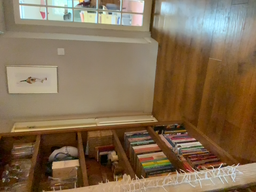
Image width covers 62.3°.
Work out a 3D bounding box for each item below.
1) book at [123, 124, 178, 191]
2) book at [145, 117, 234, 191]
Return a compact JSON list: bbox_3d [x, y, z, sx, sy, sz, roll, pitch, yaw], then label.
[{"bbox_3d":[0.170,0.540,1.980,0.650,0.270,0.250,-129,39,-63],"label":"book"},{"bbox_3d":[0.520,0.520,2.040,0.820,0.420,0.280,-129,39,-63],"label":"book"}]
